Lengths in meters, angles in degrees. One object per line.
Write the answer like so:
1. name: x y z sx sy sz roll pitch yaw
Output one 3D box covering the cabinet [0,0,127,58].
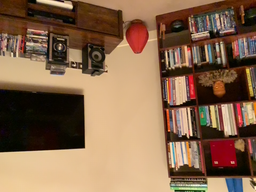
1. cabinet: -0.840 -0.790 2.330 1.530 0.360 0.620 3 168 -27
